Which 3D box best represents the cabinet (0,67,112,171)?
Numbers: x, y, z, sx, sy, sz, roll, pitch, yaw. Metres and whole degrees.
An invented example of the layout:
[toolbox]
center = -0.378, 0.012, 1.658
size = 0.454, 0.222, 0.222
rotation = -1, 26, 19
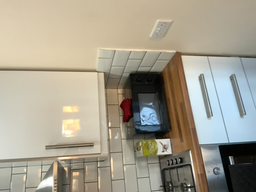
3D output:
[cabinet]
center = -0.740, 0.170, 1.470
size = 0.390, 1.180, 0.610
rotation = 116, 151, -63
